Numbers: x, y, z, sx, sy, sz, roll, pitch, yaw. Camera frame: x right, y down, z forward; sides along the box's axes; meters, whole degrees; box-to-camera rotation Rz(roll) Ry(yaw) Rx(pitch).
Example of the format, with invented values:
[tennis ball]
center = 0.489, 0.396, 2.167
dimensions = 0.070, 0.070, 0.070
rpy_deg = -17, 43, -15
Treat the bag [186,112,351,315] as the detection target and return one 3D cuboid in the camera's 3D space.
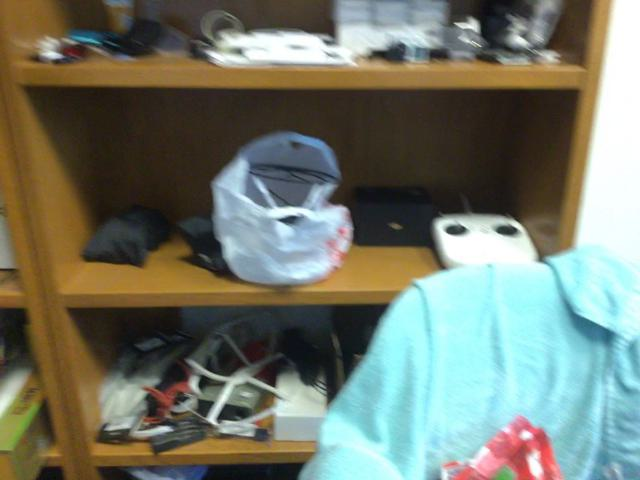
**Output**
[bag]
center = -0.070, -0.070, 1.040
dimensions = 0.230, 0.250, 0.380
rpy_deg = -2, 21, 1
